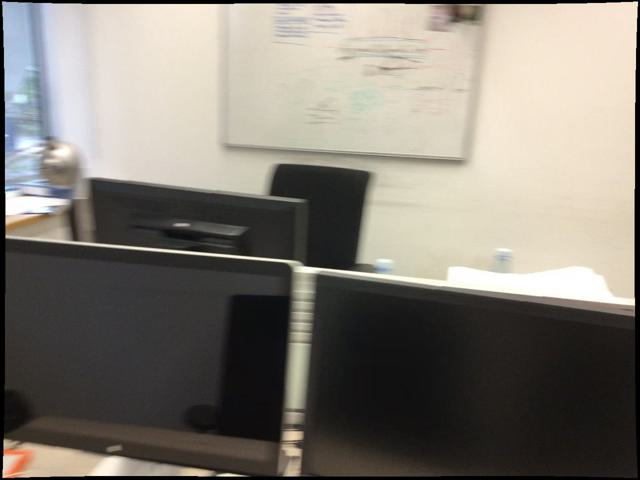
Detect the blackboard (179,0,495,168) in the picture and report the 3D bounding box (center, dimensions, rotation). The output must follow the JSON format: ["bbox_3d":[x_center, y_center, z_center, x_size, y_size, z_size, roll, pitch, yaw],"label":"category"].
[{"bbox_3d":[0.040,-0.851,2.580,1.389,0.971,0.140,5,17,16],"label":"blackboard"}]
